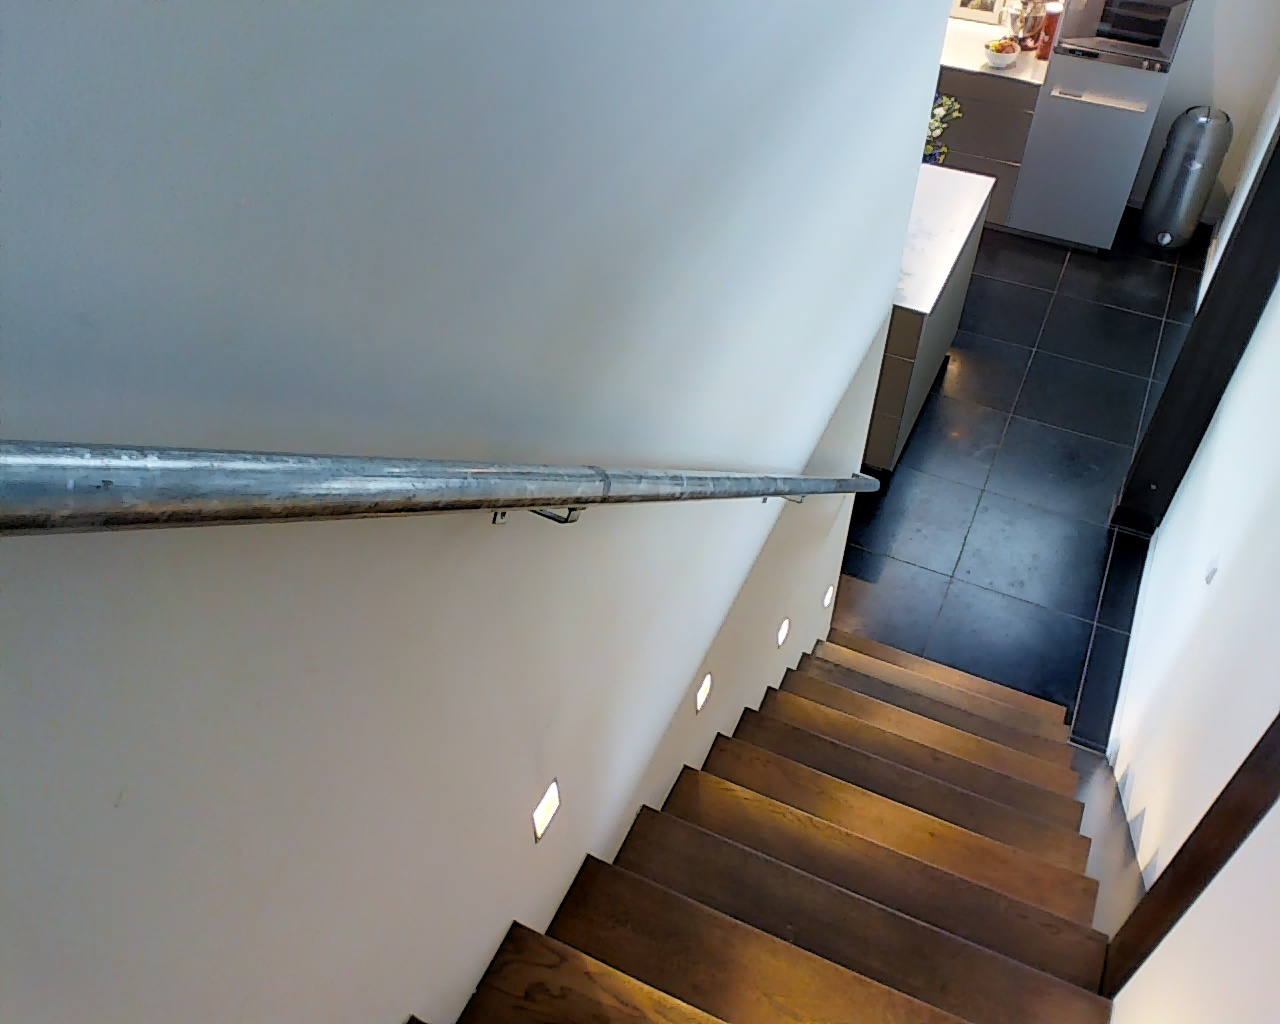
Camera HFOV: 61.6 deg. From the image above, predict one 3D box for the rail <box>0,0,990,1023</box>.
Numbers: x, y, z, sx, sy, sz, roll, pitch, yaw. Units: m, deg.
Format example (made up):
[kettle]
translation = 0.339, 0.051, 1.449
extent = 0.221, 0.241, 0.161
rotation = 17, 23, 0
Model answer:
[rail]
translation = 0.110, -0.050, 1.710
extent = 0.110, 2.600, 3.010
rotation = 19, 48, 18
